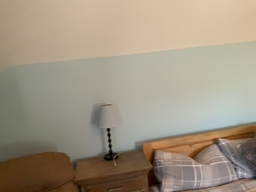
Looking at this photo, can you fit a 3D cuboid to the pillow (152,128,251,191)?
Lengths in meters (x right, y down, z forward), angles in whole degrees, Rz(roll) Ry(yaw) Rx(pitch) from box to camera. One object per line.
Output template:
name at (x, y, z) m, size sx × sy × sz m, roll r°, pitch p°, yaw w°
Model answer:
pillow at (0.580, 0.570, 1.700) m, size 0.670 × 0.360 × 0.150 m, roll 26°, pitch 10°, yaw -12°

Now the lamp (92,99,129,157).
lamp at (-0.150, 0.260, 1.780) m, size 0.230 × 0.420 × 0.180 m, roll -8°, pitch 8°, yaw -10°

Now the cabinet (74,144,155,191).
cabinet at (-0.090, 0.900, 1.740) m, size 0.550 × 0.810 × 0.440 m, roll -9°, pitch 8°, yaw -11°
